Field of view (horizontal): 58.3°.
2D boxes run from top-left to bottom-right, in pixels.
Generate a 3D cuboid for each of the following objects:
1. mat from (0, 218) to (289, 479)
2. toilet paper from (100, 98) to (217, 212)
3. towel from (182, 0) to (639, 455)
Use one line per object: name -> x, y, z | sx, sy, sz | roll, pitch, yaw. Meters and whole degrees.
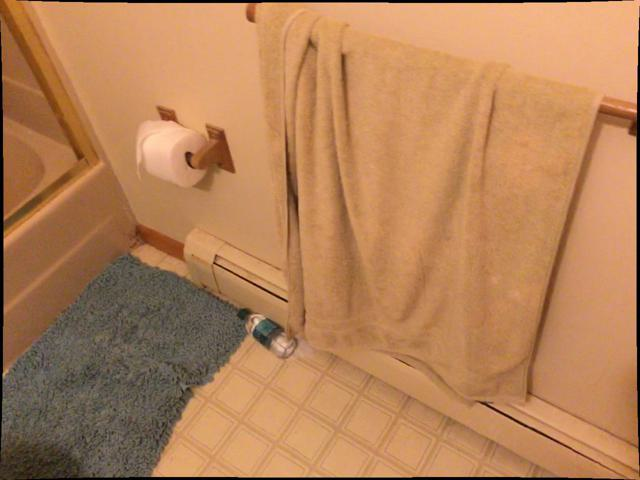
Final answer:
mat -> -0.609, 0.400, 1.540 | 0.620, 0.100, 0.970 | 22, 55, 22
toilet paper -> -0.370, -0.200, 1.340 | 0.160, 0.160, 0.160 | 24, 56, 23
towel -> 0.140, 0.010, 1.080 | 0.600, 0.850, 0.200 | 24, 56, 23
